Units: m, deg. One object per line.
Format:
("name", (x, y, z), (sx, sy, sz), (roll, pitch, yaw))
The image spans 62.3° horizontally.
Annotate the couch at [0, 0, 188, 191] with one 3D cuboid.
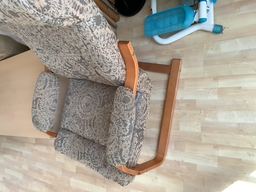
("couch", (-0.280, 0.010, 1.120), (0.750, 1.040, 0.870), (10, 98, 34))
